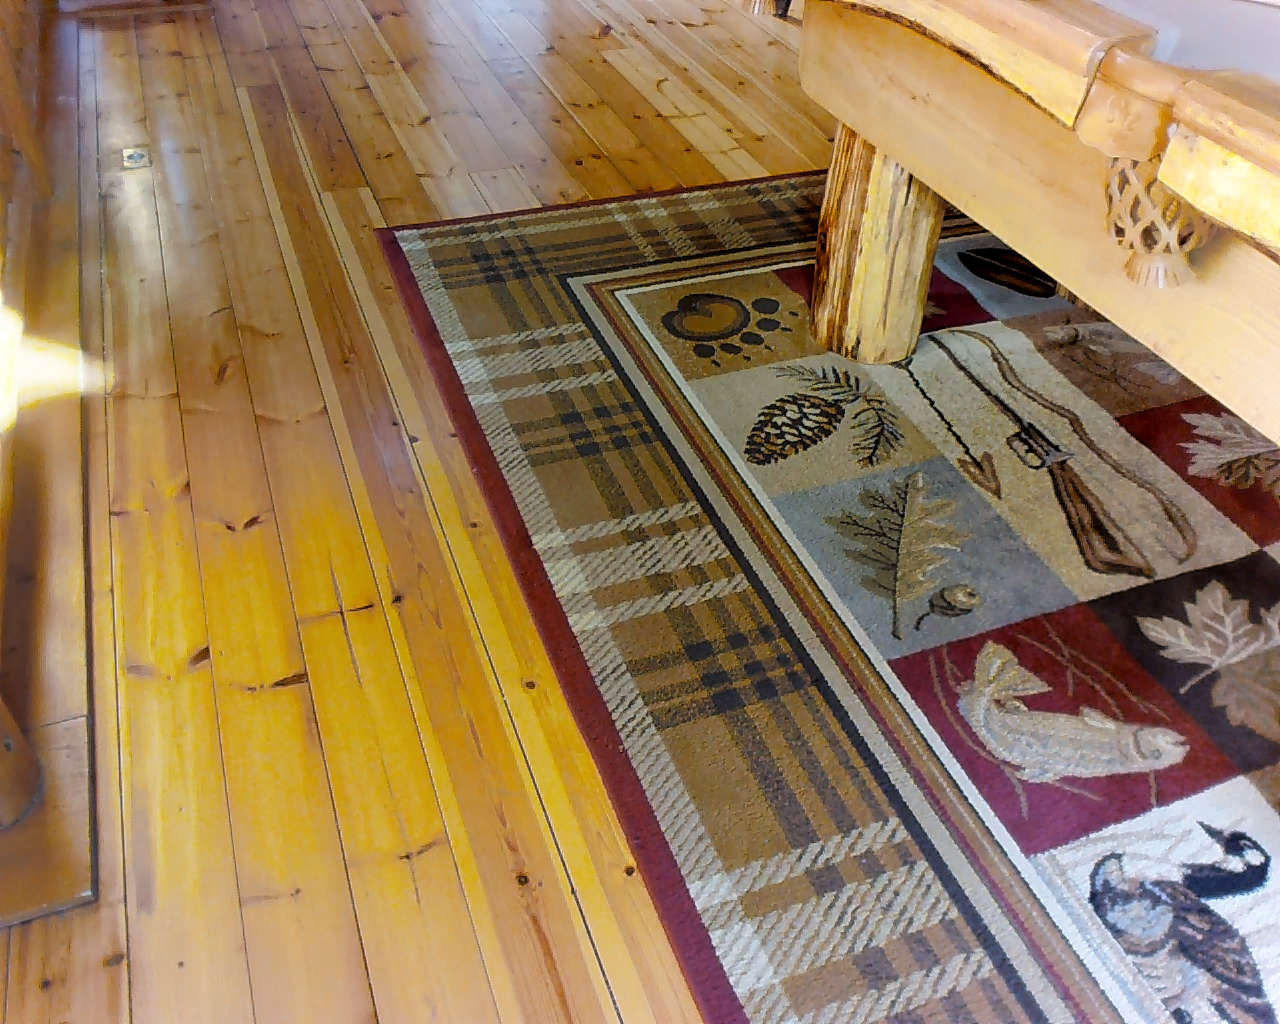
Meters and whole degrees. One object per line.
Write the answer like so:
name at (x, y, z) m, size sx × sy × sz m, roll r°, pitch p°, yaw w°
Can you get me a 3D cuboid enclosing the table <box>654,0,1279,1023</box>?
table at (1.060, -0.270, 1.520) m, size 1.320 × 0.880 × 2.210 m, roll -13°, pitch 44°, yaw -17°
